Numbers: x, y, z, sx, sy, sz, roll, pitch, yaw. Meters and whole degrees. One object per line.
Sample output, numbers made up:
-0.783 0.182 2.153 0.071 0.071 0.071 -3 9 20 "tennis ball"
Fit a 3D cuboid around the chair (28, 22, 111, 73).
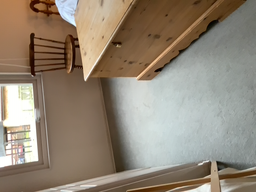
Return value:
-0.680 -0.500 2.440 0.540 0.800 0.450 5 97 61 "chair"
